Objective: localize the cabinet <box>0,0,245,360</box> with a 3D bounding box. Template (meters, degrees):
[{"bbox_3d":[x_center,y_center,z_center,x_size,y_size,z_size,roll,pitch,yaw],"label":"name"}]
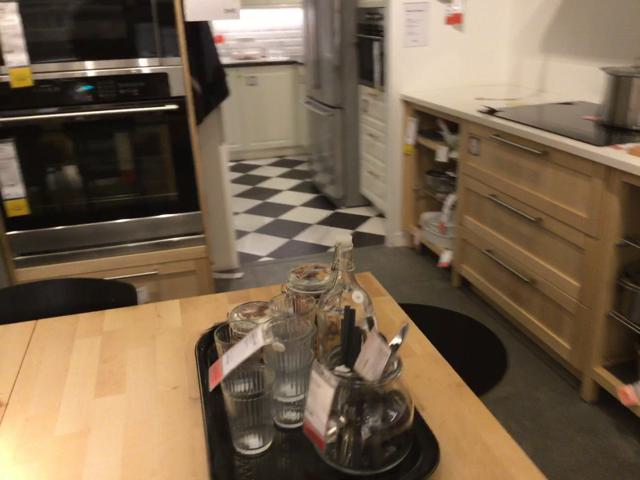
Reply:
[{"bbox_3d":[-0.860,-0.560,2.400,0.860,1.920,0.630,-7,22,-13],"label":"cabinet"}]

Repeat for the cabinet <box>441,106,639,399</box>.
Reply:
[{"bbox_3d":[0.980,-0.040,2.370,0.510,0.840,1.010,-6,22,-13],"label":"cabinet"}]

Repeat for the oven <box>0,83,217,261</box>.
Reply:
[{"bbox_3d":[-0.900,-0.340,2.530,0.780,0.560,0.650,-7,22,-13],"label":"oven"}]

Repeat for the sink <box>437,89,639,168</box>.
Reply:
[{"bbox_3d":[0.940,-0.490,2.380,0.560,0.120,0.910,-7,22,-13],"label":"sink"}]
